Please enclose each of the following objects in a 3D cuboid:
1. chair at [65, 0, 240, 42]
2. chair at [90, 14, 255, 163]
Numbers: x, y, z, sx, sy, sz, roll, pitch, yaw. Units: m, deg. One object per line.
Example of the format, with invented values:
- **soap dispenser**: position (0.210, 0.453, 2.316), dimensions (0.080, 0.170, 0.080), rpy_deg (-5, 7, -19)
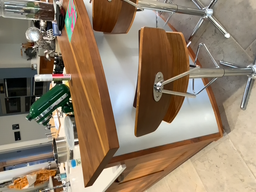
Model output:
- **chair**: position (0.180, -0.610, 1.420), dimensions (0.480, 1.070, 0.380), rpy_deg (32, 122, 54)
- **chair**: position (0.410, -0.120, 1.110), dimensions (0.510, 1.070, 0.470), rpy_deg (32, 122, 54)
